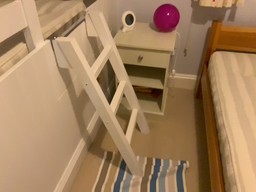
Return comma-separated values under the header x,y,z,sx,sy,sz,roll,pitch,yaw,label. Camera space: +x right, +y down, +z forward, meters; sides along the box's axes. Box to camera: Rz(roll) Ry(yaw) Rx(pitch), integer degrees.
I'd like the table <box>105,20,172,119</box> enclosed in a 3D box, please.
x,y,z,sx,sy,sz,roll,pitch,yaw,label
0.100,-0.220,1.810,0.450,0.680,0.420,7,39,8,table
